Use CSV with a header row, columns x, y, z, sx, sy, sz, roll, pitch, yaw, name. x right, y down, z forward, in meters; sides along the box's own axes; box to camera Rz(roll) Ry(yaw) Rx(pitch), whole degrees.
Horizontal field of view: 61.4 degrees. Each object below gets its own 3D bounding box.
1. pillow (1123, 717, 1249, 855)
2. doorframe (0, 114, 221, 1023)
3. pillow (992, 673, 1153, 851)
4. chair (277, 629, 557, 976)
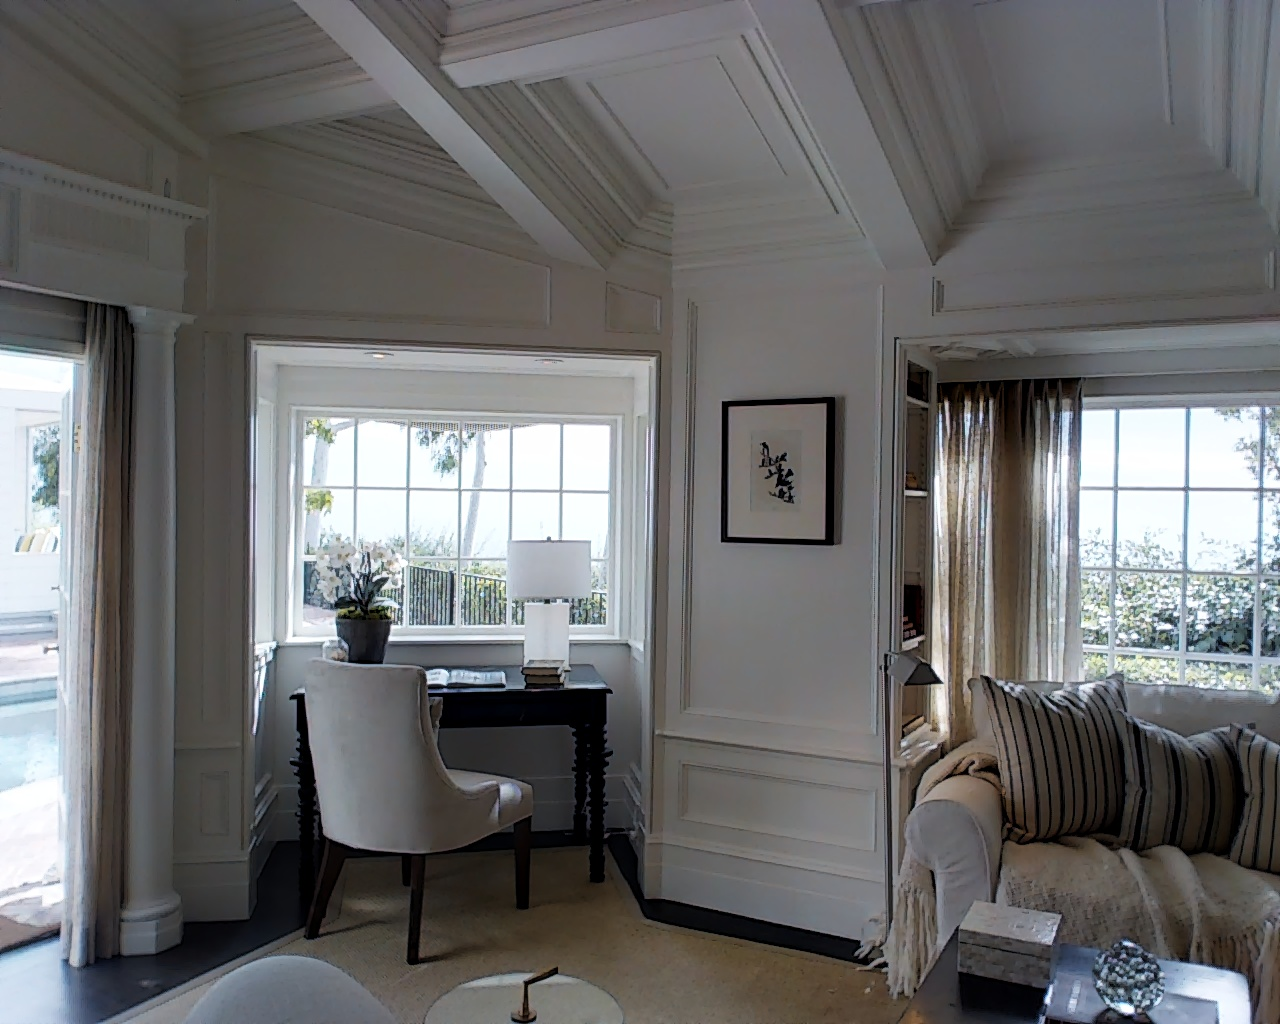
x,y,z,sx,sy,sz,roll,pitch,yaw,name
1.620,0.810,3.200,0.320,0.350,0.110,1,-15,28,pillow
-2.050,0.190,3.040,0.270,2.670,1.840,1,1,29,doorframe
1.350,0.780,3.360,0.420,0.460,0.170,13,-16,-10,pillow
-0.800,0.990,3.960,0.660,1.000,0.750,1,1,30,chair
